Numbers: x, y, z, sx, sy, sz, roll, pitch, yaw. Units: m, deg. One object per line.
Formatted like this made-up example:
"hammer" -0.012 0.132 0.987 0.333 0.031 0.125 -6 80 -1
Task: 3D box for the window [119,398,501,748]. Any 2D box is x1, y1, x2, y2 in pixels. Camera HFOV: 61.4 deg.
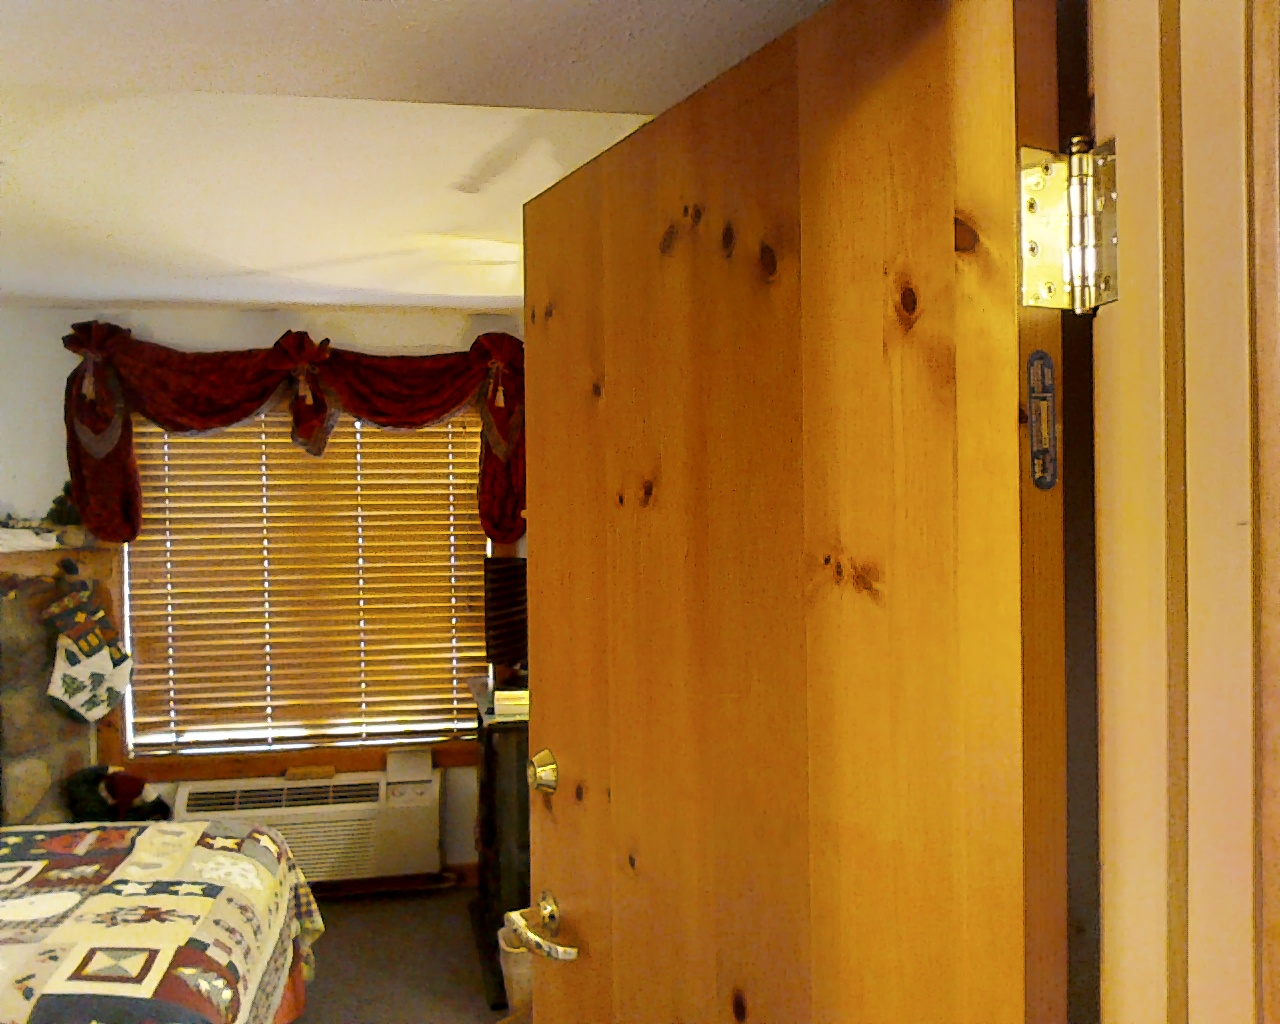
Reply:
"window" -1.360 0.230 4.540 1.500 1.410 0.130 -1 0 -10
